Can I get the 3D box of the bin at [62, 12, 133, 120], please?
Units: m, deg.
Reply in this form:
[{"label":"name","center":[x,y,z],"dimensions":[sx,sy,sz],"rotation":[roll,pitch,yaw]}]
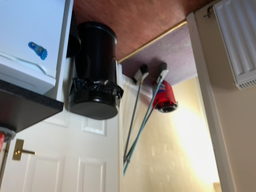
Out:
[{"label":"bin","center":[-0.210,-0.210,1.600],"dimensions":[0.270,0.660,0.400],"rotation":[-23,146,36]}]
